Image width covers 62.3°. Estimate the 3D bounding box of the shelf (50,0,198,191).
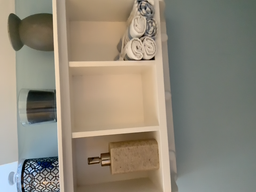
[{"bbox_3d":[-0.020,0.010,0.570,0.190,0.310,0.590,164,102,-79],"label":"shelf"}]
